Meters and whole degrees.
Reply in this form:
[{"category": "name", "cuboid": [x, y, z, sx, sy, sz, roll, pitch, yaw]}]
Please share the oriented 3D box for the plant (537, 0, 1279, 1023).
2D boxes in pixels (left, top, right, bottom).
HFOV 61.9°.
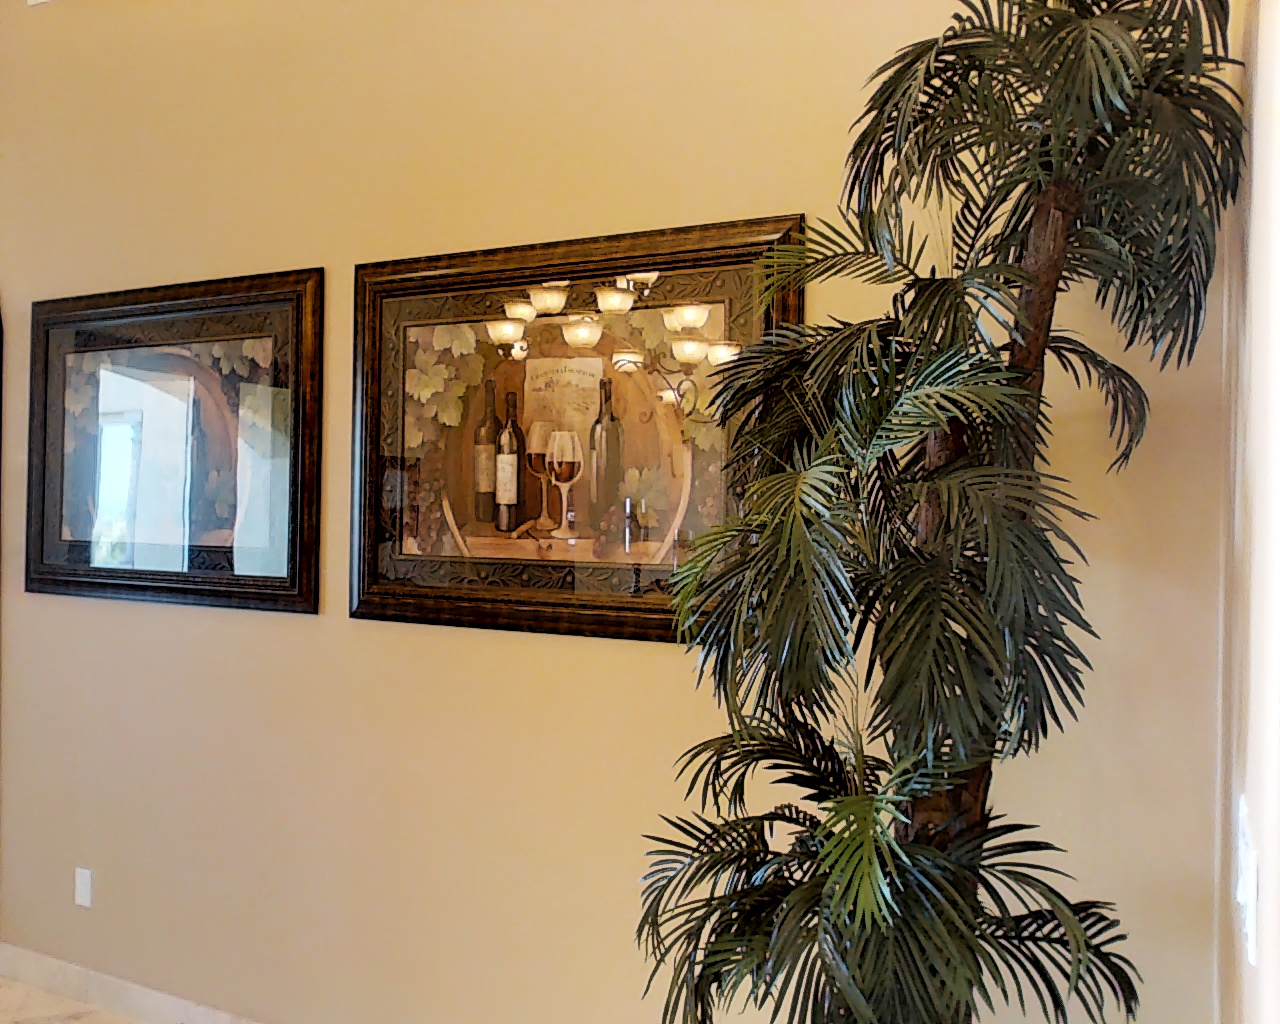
[{"category": "plant", "cuboid": [0.470, 0.190, 1.720, 0.910, 2.660, 0.890, 1, 0, 27]}]
